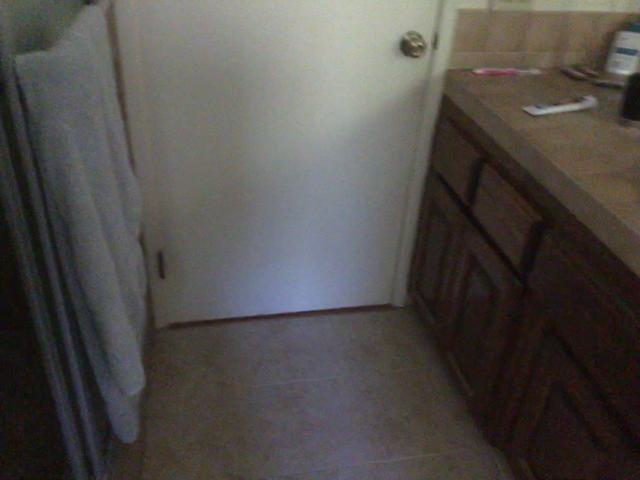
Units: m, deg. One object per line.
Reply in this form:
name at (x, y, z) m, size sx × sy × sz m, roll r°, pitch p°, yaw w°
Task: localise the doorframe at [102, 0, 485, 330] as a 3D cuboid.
doorframe at (-0.080, -0.200, 1.610) m, size 0.910 × 1.070 × 0.040 m, roll -2°, pitch 32°, yaw -12°
